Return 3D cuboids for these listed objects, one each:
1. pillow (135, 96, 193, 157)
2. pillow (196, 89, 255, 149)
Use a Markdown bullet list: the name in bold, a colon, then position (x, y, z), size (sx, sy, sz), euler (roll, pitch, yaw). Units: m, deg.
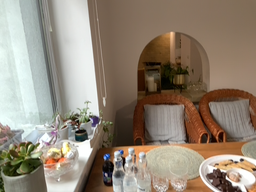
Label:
- **pillow**: position (0.370, 0.320, 2.220), size (0.370, 0.480, 0.190), euler (-35, 14, 6)
- **pillow**: position (1.080, 0.250, 2.330), size (0.390, 0.470, 0.240), euler (-39, 13, 7)
